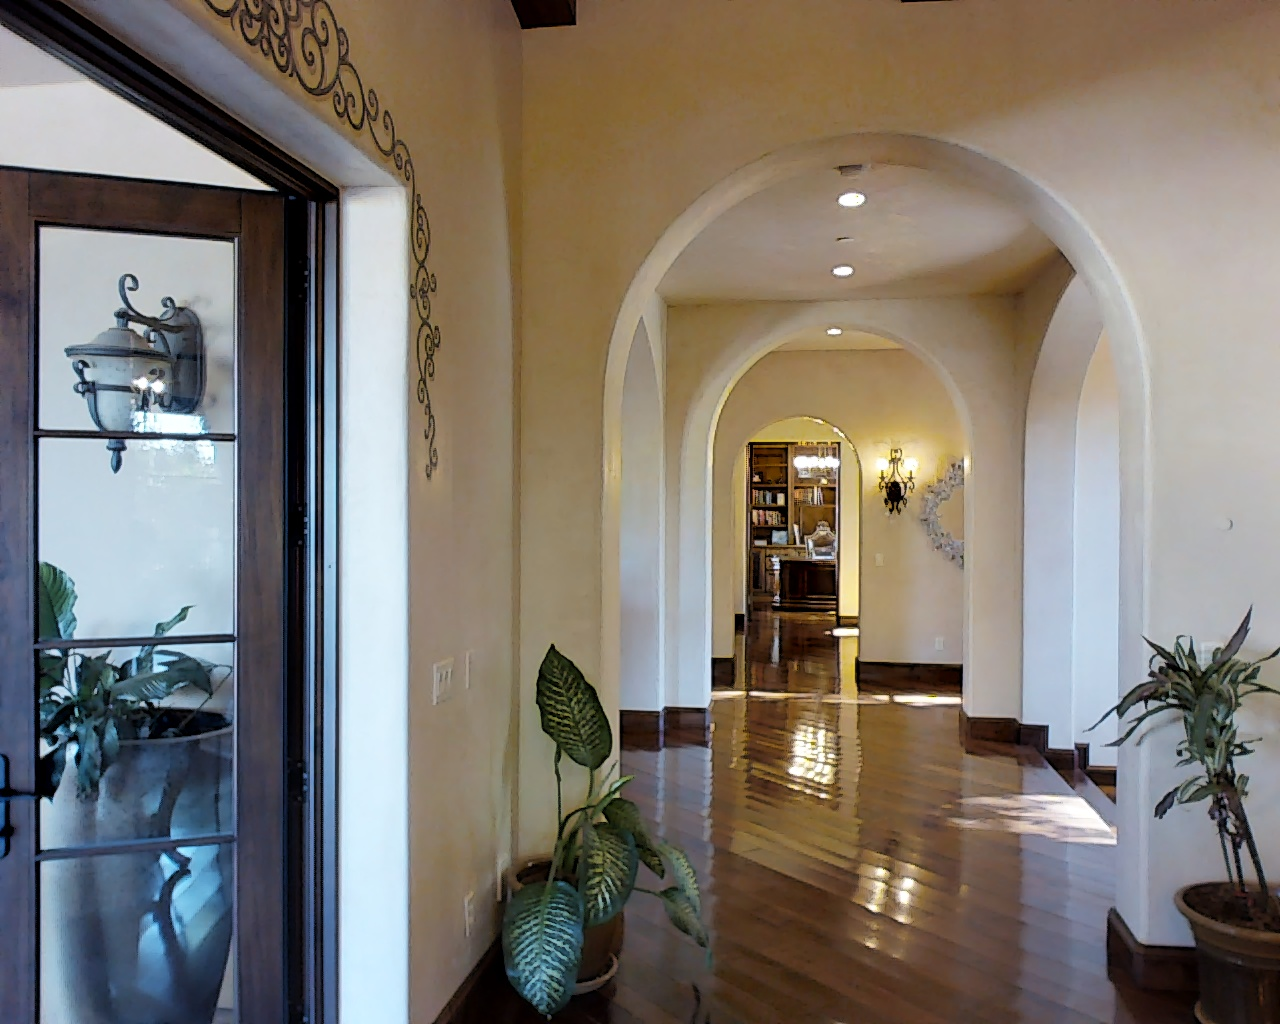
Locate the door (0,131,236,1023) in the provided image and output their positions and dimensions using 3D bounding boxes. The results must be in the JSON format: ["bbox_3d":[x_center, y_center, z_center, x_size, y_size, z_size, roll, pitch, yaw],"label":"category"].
[{"bbox_3d":[-1.320,0.340,2.600,0.630,2.440,0.110,0,1,-18],"label":"door"}]
